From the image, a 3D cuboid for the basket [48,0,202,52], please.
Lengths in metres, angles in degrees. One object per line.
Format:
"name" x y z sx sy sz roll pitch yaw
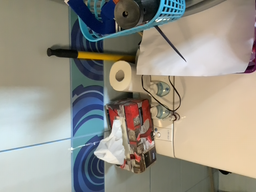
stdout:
"basket" -0.010 -0.170 0.430 0.240 0.200 0.120 6 95 43
